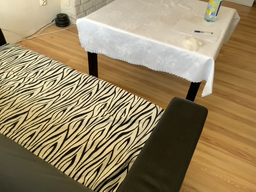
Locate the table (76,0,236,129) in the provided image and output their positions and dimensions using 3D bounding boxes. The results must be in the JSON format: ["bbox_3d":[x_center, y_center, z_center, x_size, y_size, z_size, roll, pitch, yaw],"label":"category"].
[{"bbox_3d":[0.260,-0.420,1.830,0.930,0.590,0.950,24,46,19],"label":"table"}]

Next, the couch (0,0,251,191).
[{"bbox_3d":[-0.530,0.050,1.000,1.610,0.910,0.940,24,46,19],"label":"couch"}]
